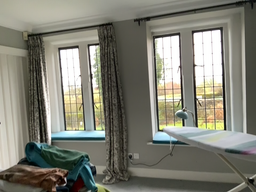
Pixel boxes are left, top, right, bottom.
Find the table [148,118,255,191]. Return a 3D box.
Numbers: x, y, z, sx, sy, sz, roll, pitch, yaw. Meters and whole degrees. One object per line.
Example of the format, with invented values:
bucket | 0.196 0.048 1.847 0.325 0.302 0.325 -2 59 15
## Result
table | 0.870 0.770 1.730 0.620 0.920 1.560 -6 4 -26
